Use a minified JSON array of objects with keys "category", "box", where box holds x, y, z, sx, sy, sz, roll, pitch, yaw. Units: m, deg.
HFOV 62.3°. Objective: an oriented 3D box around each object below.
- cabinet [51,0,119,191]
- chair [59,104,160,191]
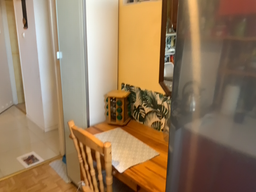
[{"category":"cabinet","box":[-0.350,-0.090,1.780,0.460,2.030,0.290,17,23,42]},{"category":"chair","box":[-0.120,0.590,1.440,0.420,0.920,0.460,17,23,42]}]
